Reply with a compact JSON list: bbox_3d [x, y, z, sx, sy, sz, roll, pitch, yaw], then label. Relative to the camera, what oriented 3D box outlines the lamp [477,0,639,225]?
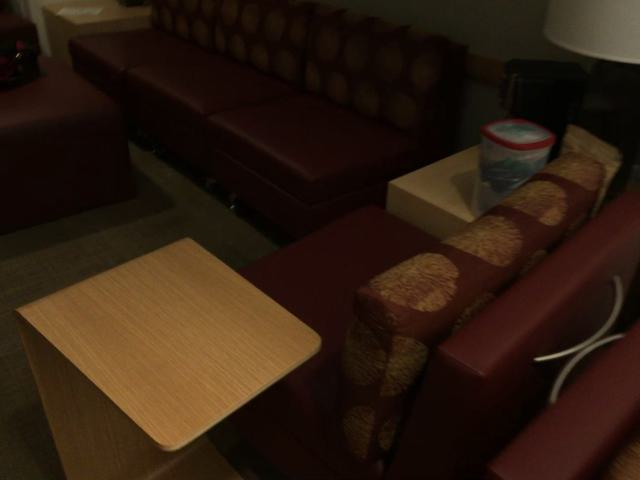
[{"bbox_3d":[0.810,-0.440,1.380,0.530,0.600,0.520,-21,39,-37],"label":"lamp"}]

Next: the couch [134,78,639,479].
[{"bbox_3d":[0.200,0.160,1.330,0.830,0.750,0.830,29,38,34],"label":"couch"}]

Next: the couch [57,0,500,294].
[{"bbox_3d":[-0.390,-0.750,2.700,0.810,0.860,2.120,-21,39,-37],"label":"couch"}]

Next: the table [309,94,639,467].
[{"bbox_3d":[0.560,0.020,1.770,0.940,0.640,0.660,-21,39,-37],"label":"table"}]
